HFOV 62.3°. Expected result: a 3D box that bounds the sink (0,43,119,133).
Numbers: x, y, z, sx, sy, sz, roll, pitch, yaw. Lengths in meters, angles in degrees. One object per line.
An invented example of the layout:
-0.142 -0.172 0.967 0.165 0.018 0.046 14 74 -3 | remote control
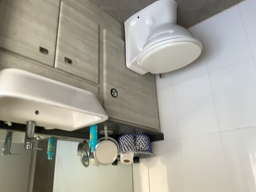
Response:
-0.440 0.030 1.100 0.510 0.180 0.600 -19 154 37 | sink
